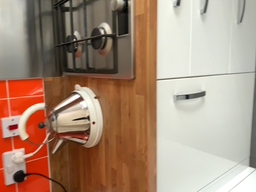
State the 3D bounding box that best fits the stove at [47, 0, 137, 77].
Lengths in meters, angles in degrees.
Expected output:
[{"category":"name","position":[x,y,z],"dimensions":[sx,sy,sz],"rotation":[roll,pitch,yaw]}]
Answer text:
[{"category":"stove","position":[-0.170,-0.360,0.760],"dimensions":[0.550,0.040,0.570],"rotation":[8,102,50]}]
